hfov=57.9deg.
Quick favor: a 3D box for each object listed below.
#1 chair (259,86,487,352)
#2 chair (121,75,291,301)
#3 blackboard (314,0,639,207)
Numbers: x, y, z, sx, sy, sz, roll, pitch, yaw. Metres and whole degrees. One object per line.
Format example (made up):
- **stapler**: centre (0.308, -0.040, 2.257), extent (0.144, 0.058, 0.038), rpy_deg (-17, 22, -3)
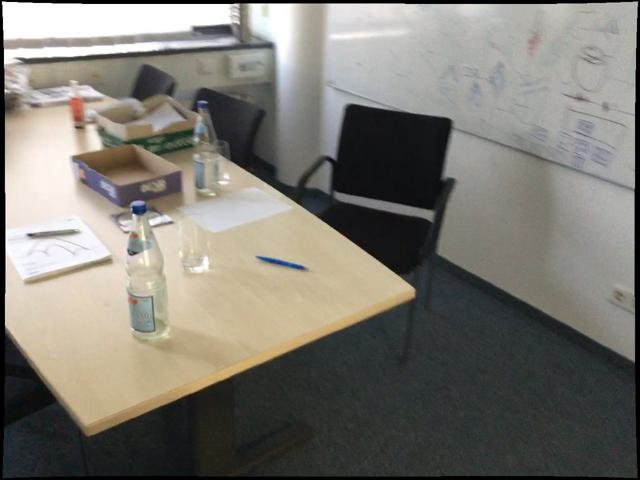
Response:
- **chair**: centre (0.220, -0.130, 2.260), extent (0.659, 0.701, 0.700), rpy_deg (11, 31, 16)
- **chair**: centre (-0.460, -0.240, 2.410), extent (0.450, 0.711, 0.540), rpy_deg (-19, 36, -32)
- **blackboard**: centre (0.689, -1.101, 2.220), extent (0.150, 1.461, 2.140), rpy_deg (-19, 36, -32)
